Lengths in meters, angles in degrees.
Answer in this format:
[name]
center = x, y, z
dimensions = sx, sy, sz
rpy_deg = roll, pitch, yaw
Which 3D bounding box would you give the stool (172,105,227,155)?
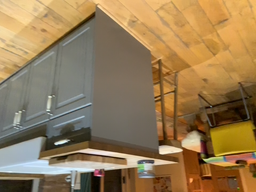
[stool]
center = 1.320, 0.670, 3.760
dimensions = 0.360, 0.550, 1.560
rpy_deg = -18, 152, 32

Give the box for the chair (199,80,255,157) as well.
[chair]
center = 1.230, 0.300, 2.600
dimensions = 0.450, 0.780, 0.470
rpy_deg = -18, 152, 33
